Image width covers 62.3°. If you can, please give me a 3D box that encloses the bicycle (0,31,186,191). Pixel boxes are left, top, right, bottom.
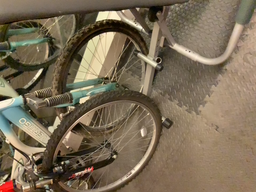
[{"bbox_3d":[-0.540,0.640,1.160,0.650,0.950,1.750,35,111,29],"label":"bicycle"}]
